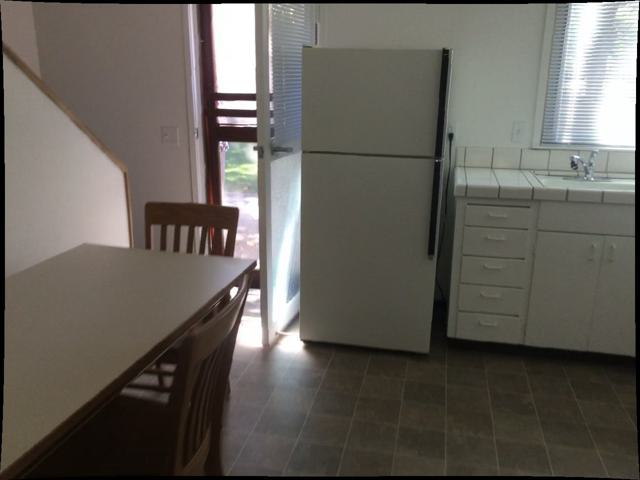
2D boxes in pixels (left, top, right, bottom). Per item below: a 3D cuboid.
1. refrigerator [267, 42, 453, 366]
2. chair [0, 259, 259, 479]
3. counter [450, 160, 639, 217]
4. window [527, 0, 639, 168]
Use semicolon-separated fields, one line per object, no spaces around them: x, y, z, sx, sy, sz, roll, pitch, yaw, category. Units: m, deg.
0.230;-0.240;3.170;0.839;1.582;0.760;3;17;10;refrigerator
-0.549;0.571;1.580;0.639;0.891;0.480;3;17;10;chair
1.717;-0.250;2.890;2.057;0.120;0.710;3;18;10;counter
1.777;-0.992;3.040;1.158;1.212;0.150;3;17;10;window
